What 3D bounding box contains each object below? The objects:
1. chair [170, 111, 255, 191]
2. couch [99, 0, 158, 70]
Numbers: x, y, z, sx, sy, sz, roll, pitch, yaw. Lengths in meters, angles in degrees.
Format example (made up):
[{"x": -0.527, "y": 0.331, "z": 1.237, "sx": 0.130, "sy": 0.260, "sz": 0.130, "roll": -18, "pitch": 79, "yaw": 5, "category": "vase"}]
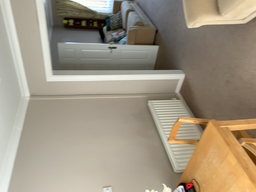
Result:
[{"x": 0.850, "y": 0.440, "z": 1.710, "sx": 0.460, "sy": 0.830, "sz": 0.400, "roll": -109, "pitch": 21, "yaw": -50, "category": "chair"}, {"x": -0.150, "y": -1.730, "z": 5.380, "sx": 2.530, "sy": 0.900, "sz": 0.940, "roll": -109, "pitch": 21, "yaw": -50, "category": "couch"}]
